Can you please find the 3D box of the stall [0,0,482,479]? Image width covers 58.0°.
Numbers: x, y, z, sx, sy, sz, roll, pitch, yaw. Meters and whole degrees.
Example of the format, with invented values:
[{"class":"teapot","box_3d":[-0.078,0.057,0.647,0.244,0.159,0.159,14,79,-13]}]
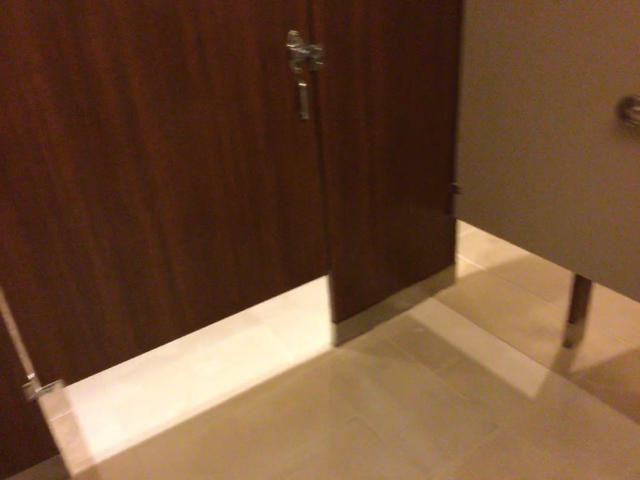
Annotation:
[{"class":"stall","box_3d":[-0.320,-0.110,1.570,2.010,1.380,0.120,-22,31,-27]}]
